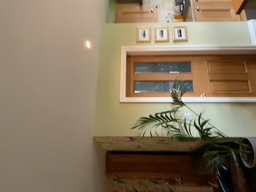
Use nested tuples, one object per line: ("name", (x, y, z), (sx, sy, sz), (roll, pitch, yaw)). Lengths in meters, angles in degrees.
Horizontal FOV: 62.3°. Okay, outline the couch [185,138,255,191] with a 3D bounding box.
("couch", (1.410, 1.150, 3.080), (0.940, 0.870, 0.870), (86, -175, -67))
